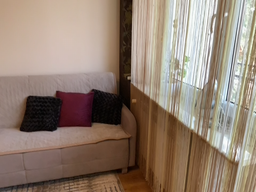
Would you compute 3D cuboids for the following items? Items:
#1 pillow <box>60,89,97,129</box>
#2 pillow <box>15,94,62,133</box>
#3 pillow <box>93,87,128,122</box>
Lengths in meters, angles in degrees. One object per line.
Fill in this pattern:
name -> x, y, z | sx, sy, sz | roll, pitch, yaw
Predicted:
pillow -> -0.550, 0.130, 2.340 | 0.360, 0.340, 0.270 | -4, 17, -17
pillow -> -0.930, 0.180, 2.260 | 0.420, 0.330, 0.210 | -3, 17, -16
pillow -> -0.210, 0.090, 2.460 | 0.350, 0.320, 0.250 | -4, 17, -18
